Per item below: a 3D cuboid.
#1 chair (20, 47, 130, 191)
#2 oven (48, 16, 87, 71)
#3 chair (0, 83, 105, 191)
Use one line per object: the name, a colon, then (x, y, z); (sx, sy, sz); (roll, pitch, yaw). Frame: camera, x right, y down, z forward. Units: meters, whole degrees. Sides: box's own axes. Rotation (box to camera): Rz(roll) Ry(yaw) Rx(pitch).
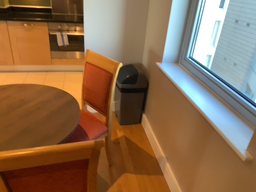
chair: (-0.410, 0.190, 1.730); (0.560, 0.990, 0.520); (-21, 38, -39)
oven: (-1.060, -0.960, 3.860); (0.600, 0.830, 0.640); (-1, 29, -12)
chair: (-0.400, 0.500, 1.170); (0.430, 1.010, 0.500); (-4, 30, -16)
